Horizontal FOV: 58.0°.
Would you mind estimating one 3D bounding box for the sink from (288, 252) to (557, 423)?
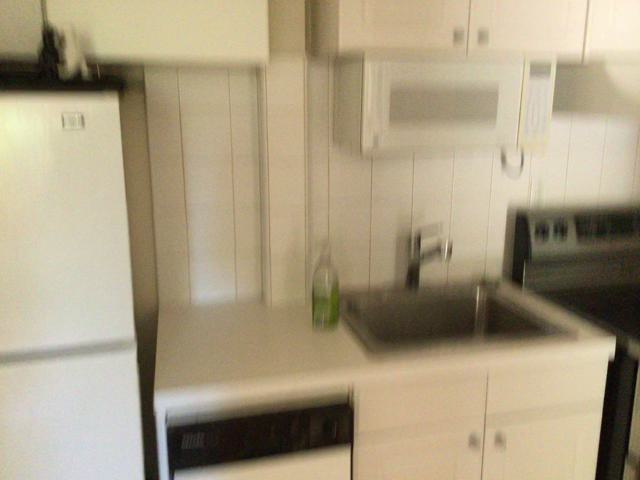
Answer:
[{"bbox_3d":[0.290,0.270,1.840,0.700,0.320,0.490,-5,10,-11],"label":"sink"}]

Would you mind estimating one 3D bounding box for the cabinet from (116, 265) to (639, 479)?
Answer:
[{"bbox_3d":[0.170,0.680,1.790,1.340,0.970,0.640,-5,10,-11],"label":"cabinet"}]
